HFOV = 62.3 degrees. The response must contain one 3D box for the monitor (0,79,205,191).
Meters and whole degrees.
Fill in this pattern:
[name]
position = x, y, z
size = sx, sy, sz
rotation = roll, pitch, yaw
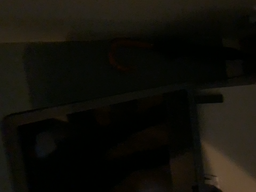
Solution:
[monitor]
position = 0.020, 0.350, 0.510
size = 0.070, 0.470, 0.720
rotation = 0, 100, 54
